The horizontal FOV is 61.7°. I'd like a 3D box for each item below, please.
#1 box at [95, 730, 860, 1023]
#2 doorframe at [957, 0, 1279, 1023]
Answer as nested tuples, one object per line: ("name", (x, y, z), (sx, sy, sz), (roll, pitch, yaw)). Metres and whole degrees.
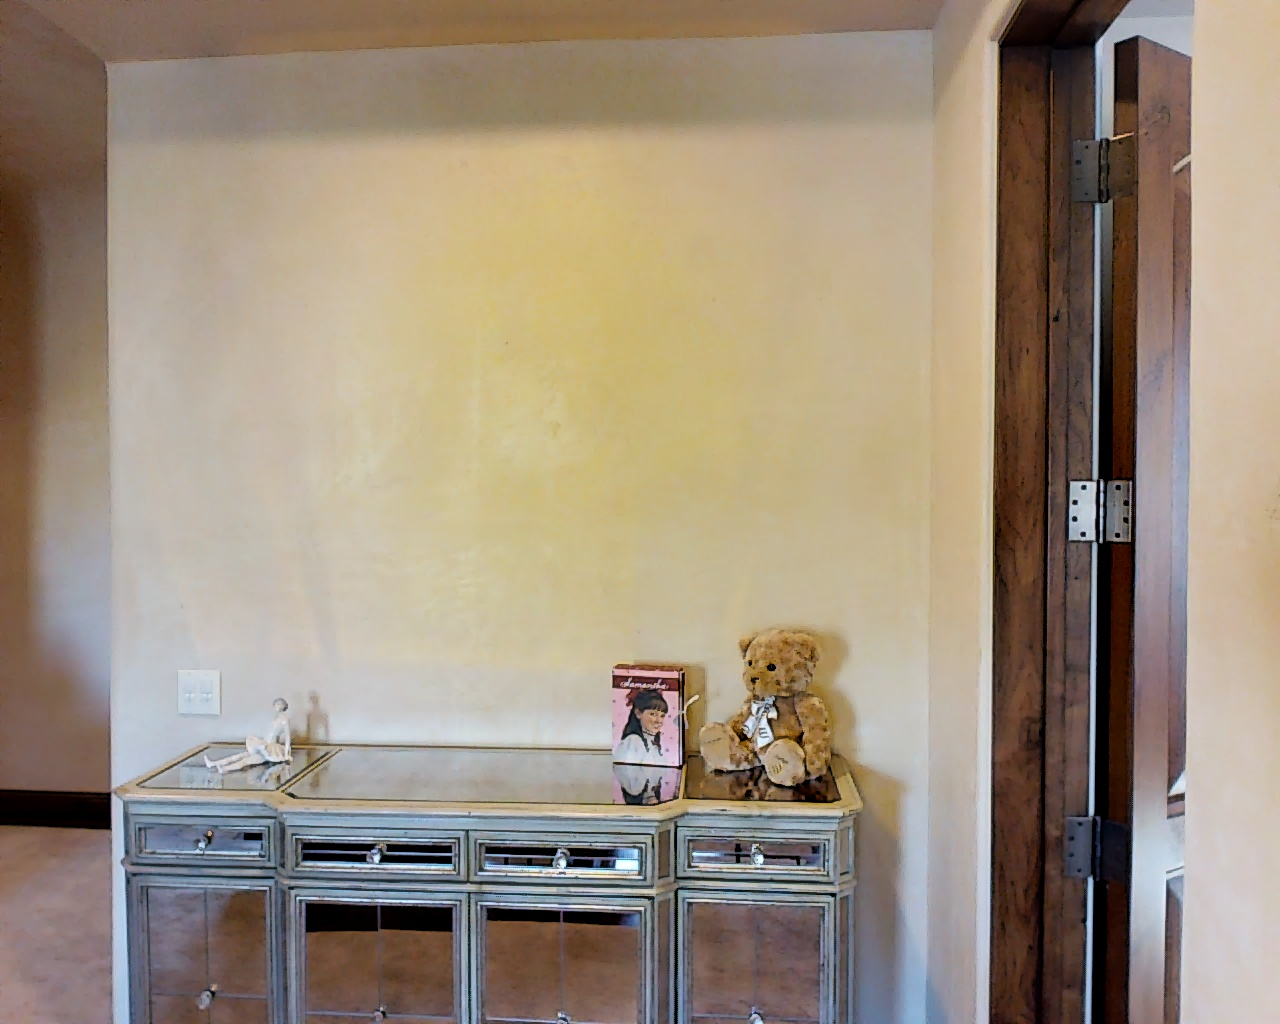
("box", (-0.330, 1.020, 2.420), (1.560, 0.910, 0.530), (0, 1, 5))
("doorframe", (0.680, 0.290, 1.580), (0.190, 2.450, 1.010), (0, 1, 4))
